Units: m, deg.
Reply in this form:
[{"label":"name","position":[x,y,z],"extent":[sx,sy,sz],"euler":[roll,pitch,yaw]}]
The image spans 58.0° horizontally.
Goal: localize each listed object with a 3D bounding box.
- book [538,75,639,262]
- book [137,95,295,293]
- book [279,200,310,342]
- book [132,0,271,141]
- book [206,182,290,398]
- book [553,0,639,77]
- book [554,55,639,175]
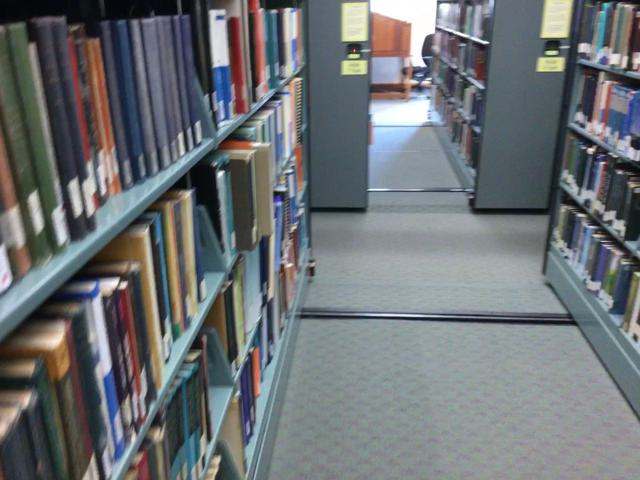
[{"label":"book","position":[1.190,-0.360,2.440],"extent":[0.170,0.620,0.950],"euler":[1,18,3]},{"label":"book","position":[-0.230,-0.220,1.720],"extent":[0.210,0.340,1.110],"euler":[1,18,3]},{"label":"book","position":[-0.110,0.110,2.760],"extent":[0.070,0.420,0.800],"euler":[1,18,3]},{"label":"book","position":[-0.280,-0.500,1.580],"extent":[0.190,0.350,0.720],"euler":[1,18,3]},{"label":"book","position":[-0.190,0.080,1.810],"extent":[0.090,0.330,0.960],"euler":[1,18,3]},{"label":"book","position":[1.210,-0.880,2.260],"extent":[0.230,0.440,0.920],"euler":[1,18,3]},{"label":"book","position":[1.230,-0.530,2.300],"extent":[0.220,0.390,0.960],"euler":[1,18,3]}]
